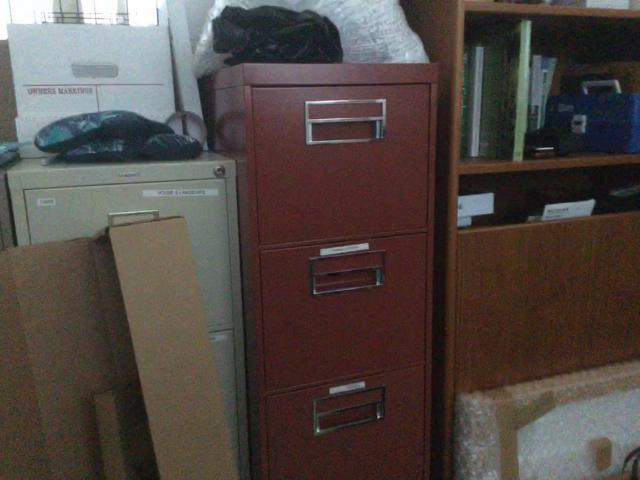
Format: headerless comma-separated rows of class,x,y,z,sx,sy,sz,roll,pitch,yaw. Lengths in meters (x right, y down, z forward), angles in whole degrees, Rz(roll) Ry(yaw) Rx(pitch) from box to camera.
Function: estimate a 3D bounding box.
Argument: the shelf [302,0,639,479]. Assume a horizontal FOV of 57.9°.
shelf,0.550,0.070,1.570,0.940,1.920,0.800,-6,12,-21
